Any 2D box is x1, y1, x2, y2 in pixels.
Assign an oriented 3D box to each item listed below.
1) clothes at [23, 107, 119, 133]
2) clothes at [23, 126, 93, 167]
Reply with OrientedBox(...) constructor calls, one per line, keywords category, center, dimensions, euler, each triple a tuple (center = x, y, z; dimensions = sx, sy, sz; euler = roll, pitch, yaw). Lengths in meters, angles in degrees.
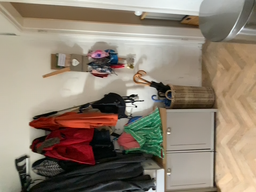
OrientedBox(category="clothes", center=(-0.570, 0.240, 2.230), dimensions=(0.170, 0.940, 0.250), euler=(171, 99, -78))
OrientedBox(category="clothes", center=(-0.690, 0.500, 2.170), dimensions=(0.240, 0.650, 0.340), euler=(171, 99, -78))
